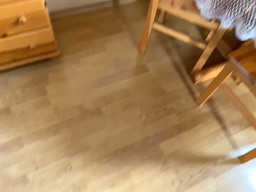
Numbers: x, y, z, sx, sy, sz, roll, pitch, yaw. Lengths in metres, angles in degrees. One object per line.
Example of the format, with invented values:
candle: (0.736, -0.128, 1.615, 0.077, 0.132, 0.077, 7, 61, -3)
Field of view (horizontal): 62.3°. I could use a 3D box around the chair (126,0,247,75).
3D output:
chair: (0.370, -0.660, 1.170, 0.520, 0.900, 0.500, 25, 61, 7)
